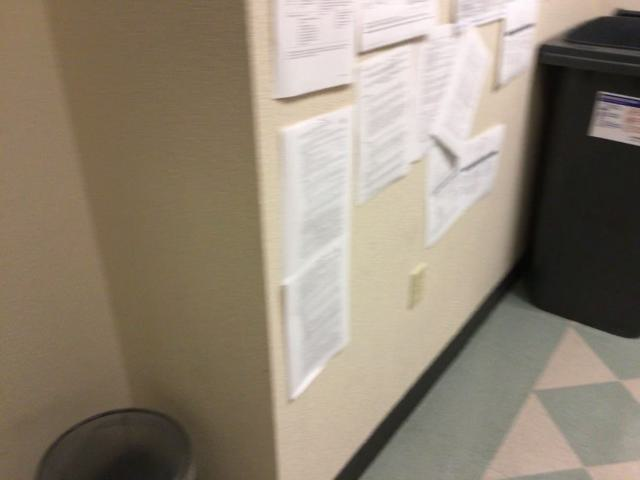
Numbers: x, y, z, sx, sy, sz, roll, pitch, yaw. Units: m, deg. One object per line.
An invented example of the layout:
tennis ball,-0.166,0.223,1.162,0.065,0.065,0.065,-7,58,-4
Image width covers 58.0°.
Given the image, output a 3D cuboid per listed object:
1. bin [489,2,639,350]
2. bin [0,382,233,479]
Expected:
bin,1.080,-0.260,2.050,0.580,0.970,0.680,20,36,31
bin,-0.410,0.600,1.250,0.320,0.360,0.320,20,36,31
